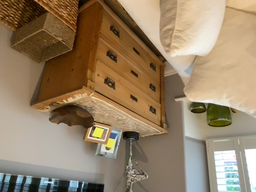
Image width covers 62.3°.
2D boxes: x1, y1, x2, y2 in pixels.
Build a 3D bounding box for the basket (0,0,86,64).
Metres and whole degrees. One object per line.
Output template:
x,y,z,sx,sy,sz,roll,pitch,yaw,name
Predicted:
-0.660,-0.610,1.400,0.510,0.480,0.520,-14,151,34,basket
